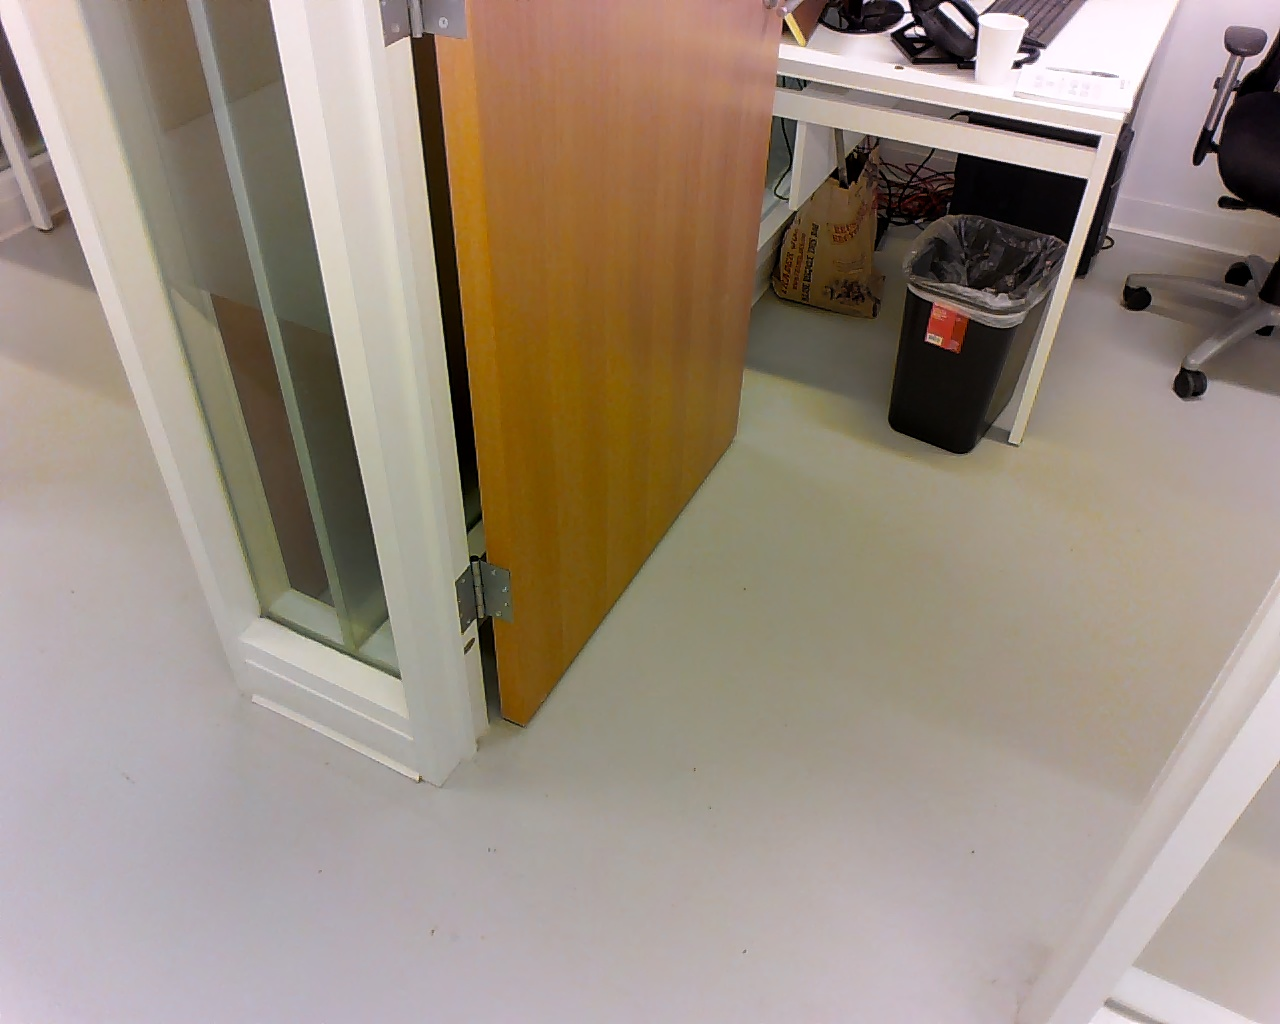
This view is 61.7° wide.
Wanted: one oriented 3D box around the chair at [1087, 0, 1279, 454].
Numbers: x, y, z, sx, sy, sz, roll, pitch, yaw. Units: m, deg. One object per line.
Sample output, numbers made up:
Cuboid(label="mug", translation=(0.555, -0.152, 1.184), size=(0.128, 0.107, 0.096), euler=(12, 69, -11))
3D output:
Cuboid(label="chair", translation=(1.550, -0.790, 2.280), size=(0.750, 1.120, 0.770), euler=(17, 44, 17))

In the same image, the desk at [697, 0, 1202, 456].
Cuboid(label="desk", translation=(0.800, -0.900, 2.660), size=(0.820, 0.740, 1.270), euler=(20, 45, 19))
